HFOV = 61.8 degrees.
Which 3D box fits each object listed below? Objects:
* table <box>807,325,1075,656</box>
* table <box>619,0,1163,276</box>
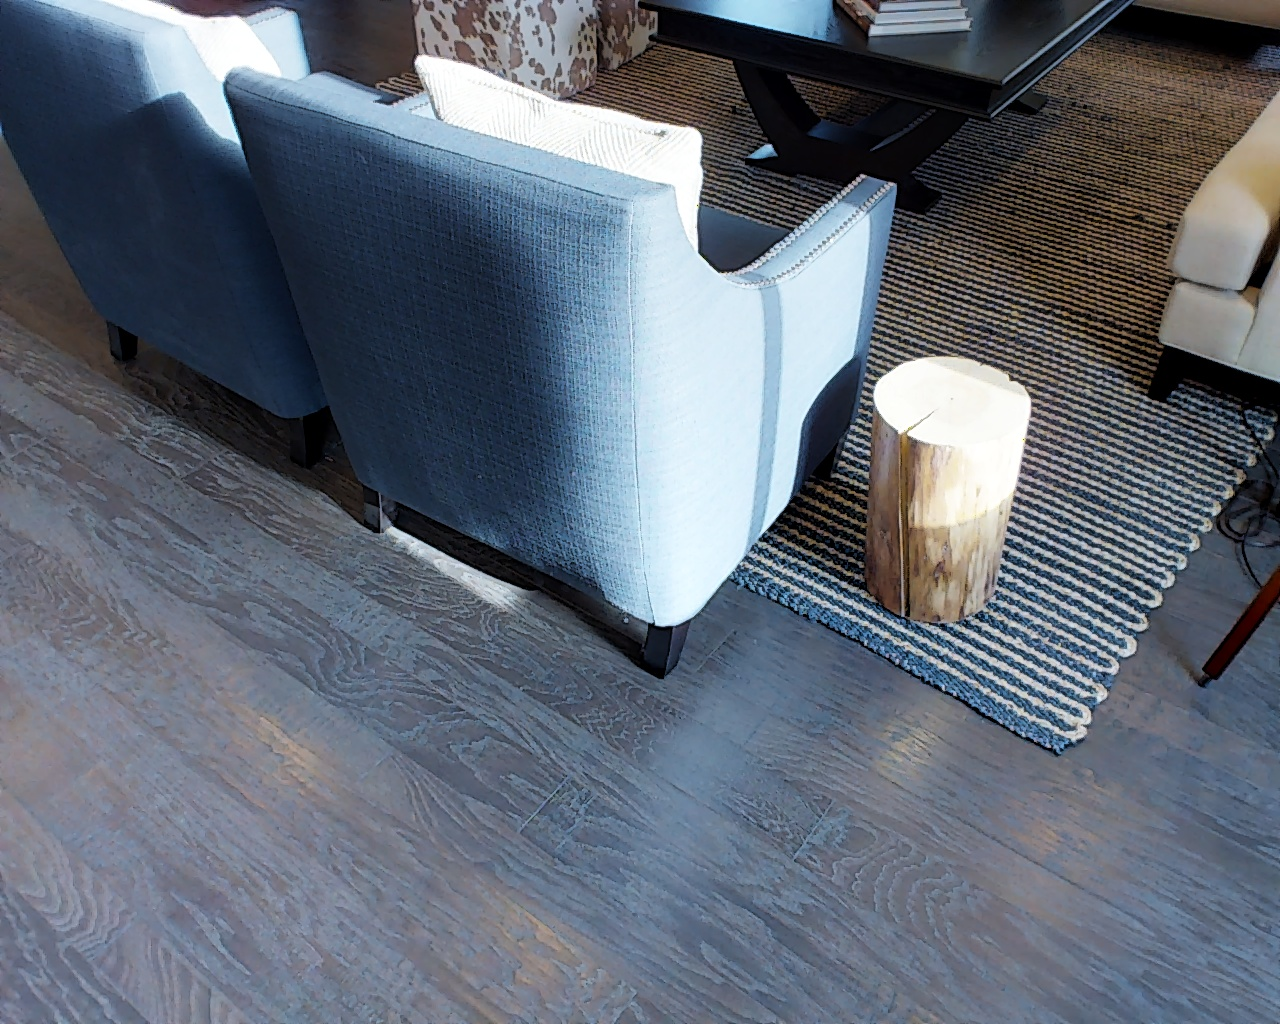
[{"bbox_3d":[0.510,-0.040,1.860,0.300,0.410,0.290,23,47,23],"label":"table"},{"bbox_3d":[0.840,-1.450,3.370,1.100,0.510,1.550,26,48,26],"label":"table"}]
